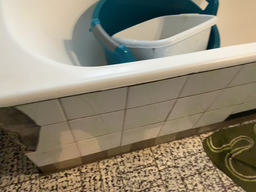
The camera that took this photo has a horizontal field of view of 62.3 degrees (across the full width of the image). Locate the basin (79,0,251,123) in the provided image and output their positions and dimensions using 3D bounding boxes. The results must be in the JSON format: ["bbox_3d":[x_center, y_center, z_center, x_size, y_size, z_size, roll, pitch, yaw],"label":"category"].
[{"bbox_3d":[0.100,-0.210,0.930,0.530,0.330,0.450,-12,61,-12],"label":"basin"}]
